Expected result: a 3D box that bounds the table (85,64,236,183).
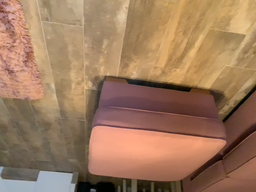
[{"bbox_3d":[0.130,0.270,1.570,0.810,0.450,0.810,7,142,-8],"label":"table"}]
